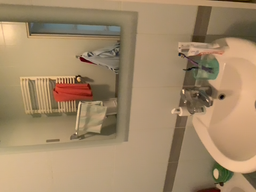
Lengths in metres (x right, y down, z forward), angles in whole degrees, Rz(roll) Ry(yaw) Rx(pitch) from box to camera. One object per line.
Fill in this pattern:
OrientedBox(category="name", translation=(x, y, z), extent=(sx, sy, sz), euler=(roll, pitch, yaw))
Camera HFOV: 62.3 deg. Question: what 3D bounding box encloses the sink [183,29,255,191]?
OrientedBox(category="sink", translation=(0.490, 0.040, 0.900), extent=(0.470, 0.220, 0.540), euler=(-115, 26, -61))
